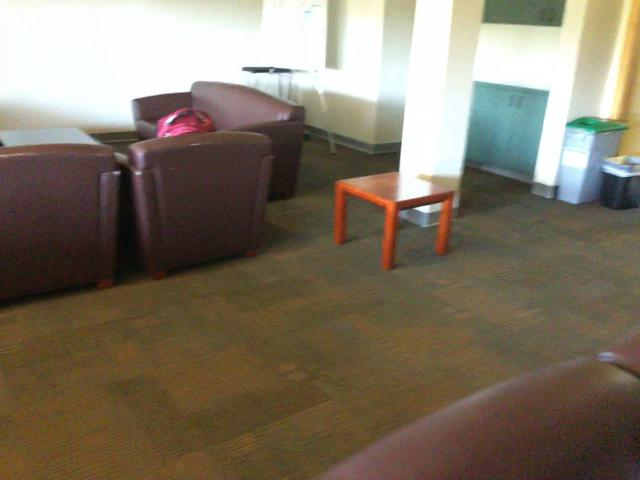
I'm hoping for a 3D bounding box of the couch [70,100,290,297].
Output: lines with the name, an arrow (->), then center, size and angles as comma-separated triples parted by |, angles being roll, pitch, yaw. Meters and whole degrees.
couch -> -0.740, -0.290, 3.140 | 0.840, 0.740, 0.790 | -17, 29, -37
